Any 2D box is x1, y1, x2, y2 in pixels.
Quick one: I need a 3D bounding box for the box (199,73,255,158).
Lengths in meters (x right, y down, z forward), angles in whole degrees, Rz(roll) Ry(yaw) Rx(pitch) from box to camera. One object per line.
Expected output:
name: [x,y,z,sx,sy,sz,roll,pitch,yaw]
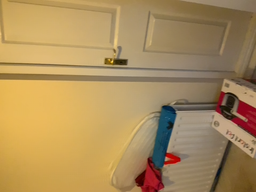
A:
box: [0.780,0.090,1.310,0.430,0.410,0.340,-129,43,-61]
